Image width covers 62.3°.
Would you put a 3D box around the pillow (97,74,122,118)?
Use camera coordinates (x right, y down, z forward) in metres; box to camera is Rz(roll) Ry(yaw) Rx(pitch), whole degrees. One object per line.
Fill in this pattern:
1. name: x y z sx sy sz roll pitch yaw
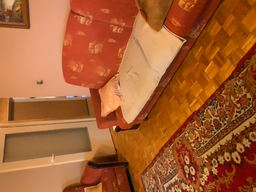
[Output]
1. pillow: -0.240 0.000 2.620 0.340 0.150 0.430 122 139 -52

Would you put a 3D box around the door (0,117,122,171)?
1. door: -1.220 0.810 3.920 0.060 2.120 0.830 111 148 -42
